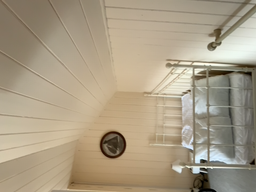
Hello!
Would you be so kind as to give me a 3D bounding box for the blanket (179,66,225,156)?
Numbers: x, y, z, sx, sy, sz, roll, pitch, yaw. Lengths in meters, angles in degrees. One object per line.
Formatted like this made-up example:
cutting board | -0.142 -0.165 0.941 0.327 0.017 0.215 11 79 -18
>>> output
blanket | 0.850 0.180 2.550 0.820 0.230 0.900 118 154 -85
